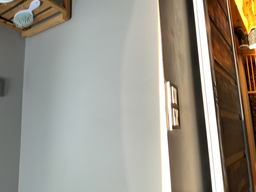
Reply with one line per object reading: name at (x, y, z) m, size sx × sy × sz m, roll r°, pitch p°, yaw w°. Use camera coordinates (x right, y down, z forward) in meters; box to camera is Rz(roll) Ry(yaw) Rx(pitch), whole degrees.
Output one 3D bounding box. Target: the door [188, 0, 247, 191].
door at (0.560, 0.020, 1.270) m, size 0.100 × 1.900 × 0.820 m, roll -8°, pitch 169°, yaw 31°
